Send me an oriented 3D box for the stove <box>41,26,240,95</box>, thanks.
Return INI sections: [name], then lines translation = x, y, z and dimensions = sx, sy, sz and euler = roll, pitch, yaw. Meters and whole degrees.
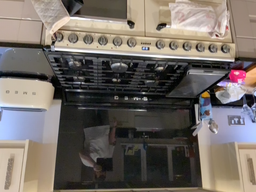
[stove]
translation = 0.060, -0.190, 1.480
dimensions = 1.110, 0.160, 0.630
euler = 2, 164, -8
